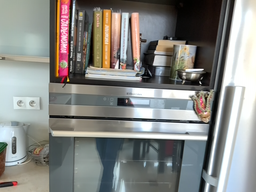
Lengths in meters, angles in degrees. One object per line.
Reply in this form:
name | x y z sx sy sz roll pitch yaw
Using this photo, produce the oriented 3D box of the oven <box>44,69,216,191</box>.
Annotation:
oven | -0.040 0.200 1.100 0.610 0.590 0.630 2 11 -9
